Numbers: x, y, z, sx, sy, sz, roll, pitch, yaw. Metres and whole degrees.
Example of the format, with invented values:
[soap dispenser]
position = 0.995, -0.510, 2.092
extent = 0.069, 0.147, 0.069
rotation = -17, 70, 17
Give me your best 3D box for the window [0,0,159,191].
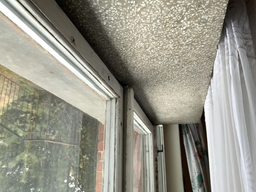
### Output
[window]
position = -0.080, 0.550, 0.520
extent = 0.150, 1.530, 1.900
rotation = -4, 161, 12
